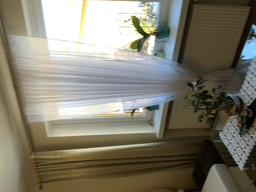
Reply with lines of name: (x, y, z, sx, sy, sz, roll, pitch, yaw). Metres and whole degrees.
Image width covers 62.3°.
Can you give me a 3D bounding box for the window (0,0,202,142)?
window: (-0.300, -0.350, 2.430, 0.270, 1.920, 2.030, -103, 14, -56)
